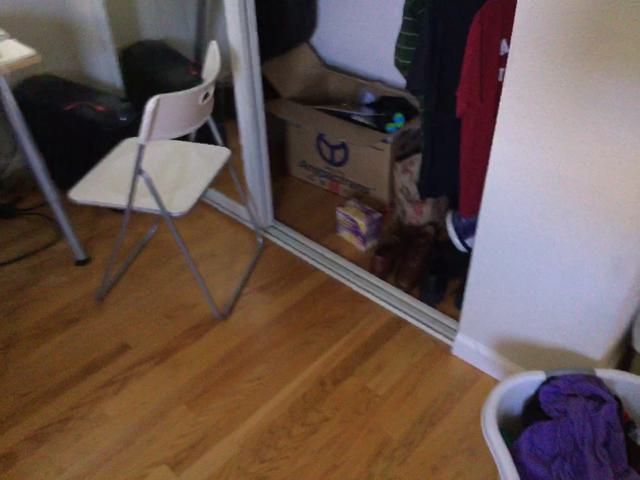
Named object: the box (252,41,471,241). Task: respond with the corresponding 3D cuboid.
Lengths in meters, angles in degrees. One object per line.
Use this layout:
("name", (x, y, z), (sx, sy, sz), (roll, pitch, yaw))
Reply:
("box", (0.130, -0.430, 2.350), (0.840, 0.510, 0.280), (28, 44, 33))
